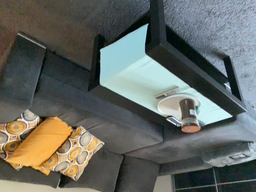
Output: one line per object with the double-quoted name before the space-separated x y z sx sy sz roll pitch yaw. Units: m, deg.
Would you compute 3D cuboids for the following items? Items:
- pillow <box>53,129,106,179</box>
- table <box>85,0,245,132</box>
"pillow" -0.450 0.530 2.000 0.200 0.350 0.380 -26 166 29
"table" 0.270 -0.160 1.420 0.900 0.460 0.530 26 141 -36
